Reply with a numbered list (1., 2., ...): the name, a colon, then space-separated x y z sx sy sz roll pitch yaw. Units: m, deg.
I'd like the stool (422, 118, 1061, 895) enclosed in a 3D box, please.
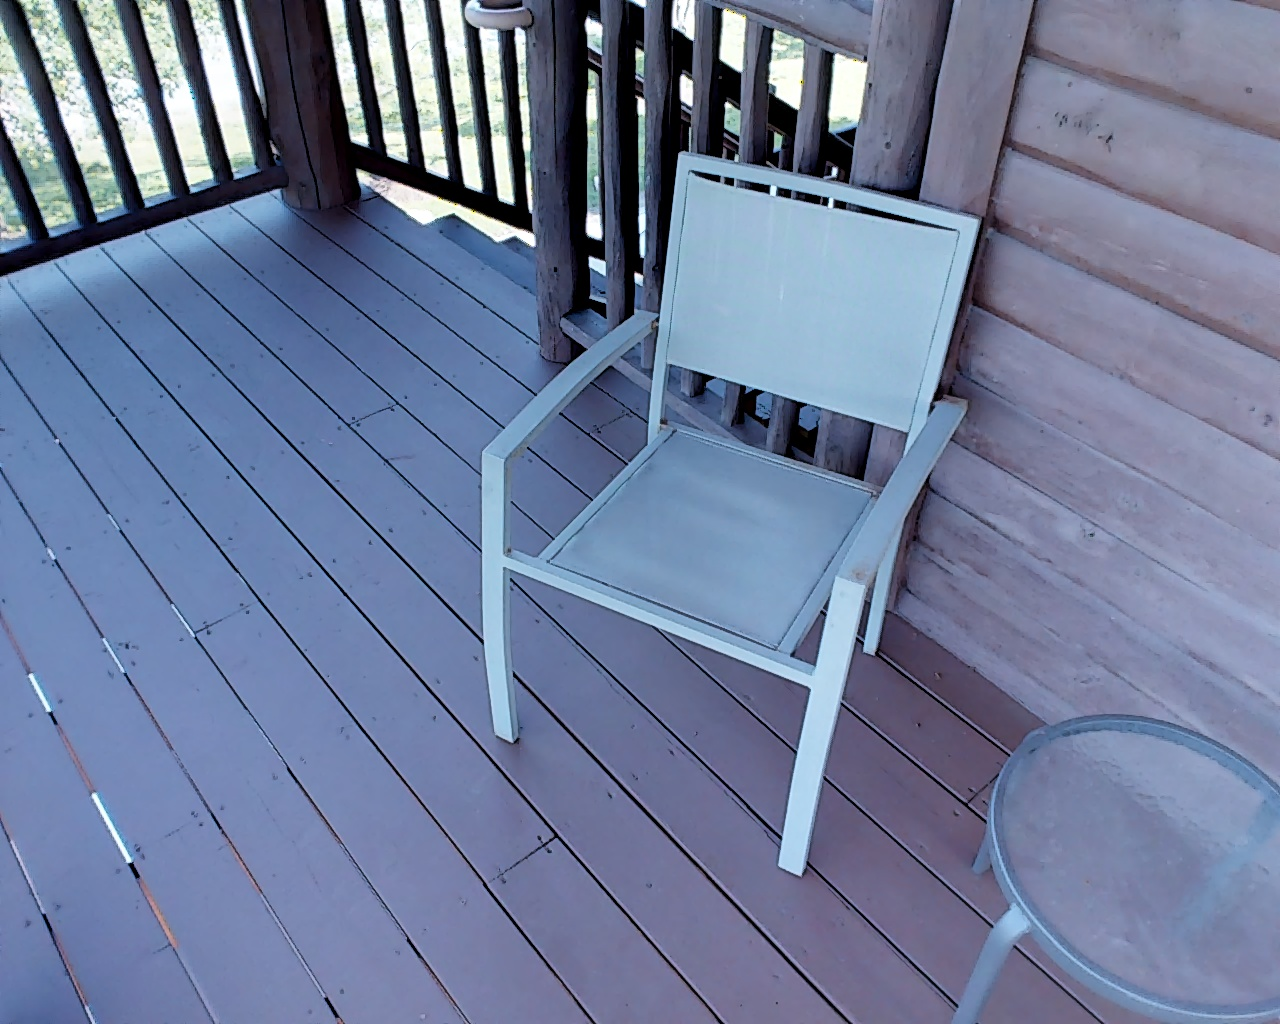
1. stool: 0.170 -0.020 1.730 0.650 0.890 0.660 18 45 19
